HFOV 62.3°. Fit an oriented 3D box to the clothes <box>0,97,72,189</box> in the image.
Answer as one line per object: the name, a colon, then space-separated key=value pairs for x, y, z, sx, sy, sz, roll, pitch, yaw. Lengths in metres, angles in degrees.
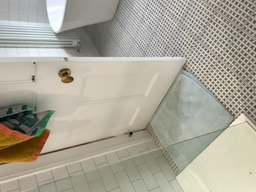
clothes: x=-0.760 y=0.290 z=1.000 sx=0.170 sy=0.870 sz=0.530 roll=58 pitch=139 yaw=32
